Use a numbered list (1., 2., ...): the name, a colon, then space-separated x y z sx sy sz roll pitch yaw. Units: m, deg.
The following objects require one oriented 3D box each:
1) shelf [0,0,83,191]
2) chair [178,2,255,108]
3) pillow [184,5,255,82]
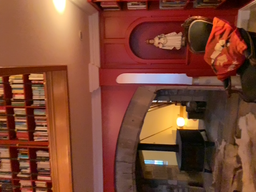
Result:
1. shelf: -1.830 1.490 3.630 0.370 2.040 5.800 -67 -22 -76
2. chair: 1.100 -0.410 2.210 0.610 1.010 0.890 82 -169 -63
3. pillow: 1.000 -0.510 2.260 0.540 0.210 0.650 58 157 -1
